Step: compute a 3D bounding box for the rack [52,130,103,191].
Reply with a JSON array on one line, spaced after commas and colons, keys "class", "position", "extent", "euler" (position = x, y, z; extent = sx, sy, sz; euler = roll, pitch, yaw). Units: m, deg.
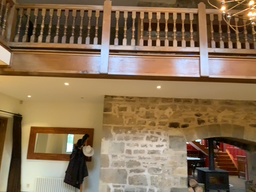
[{"class": "rack", "position": [-1.370, 2.000, 6.040], "extent": [1.070, 1.940, 1.020], "euler": [2, -12, 2]}]
